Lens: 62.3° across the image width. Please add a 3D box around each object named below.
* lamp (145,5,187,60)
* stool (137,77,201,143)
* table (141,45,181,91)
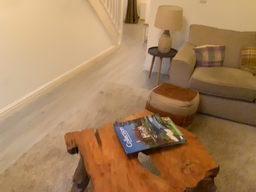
[{"bbox_3d":[0.500,-0.850,2.770,0.360,0.570,0.500,14,30,19],"label":"lamp"},{"bbox_3d":[0.410,0.110,2.090,0.480,0.360,0.470,14,31,18],"label":"stool"},{"bbox_3d":[0.460,-0.400,2.960,0.400,0.460,0.400,14,31,18],"label":"table"}]
